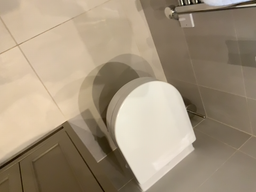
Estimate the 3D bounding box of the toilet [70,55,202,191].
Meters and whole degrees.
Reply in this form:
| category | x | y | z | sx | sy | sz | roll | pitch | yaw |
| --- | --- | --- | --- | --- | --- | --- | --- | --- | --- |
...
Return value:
| category | x | y | z | sx | sy | sz | roll | pitch | yaw |
| --- | --- | --- | --- | --- | --- | --- | --- | --- | --- |
| toilet | 0.040 | 0.120 | 1.160 | 0.390 | 0.460 | 0.520 | -34 | 119 | -18 |
